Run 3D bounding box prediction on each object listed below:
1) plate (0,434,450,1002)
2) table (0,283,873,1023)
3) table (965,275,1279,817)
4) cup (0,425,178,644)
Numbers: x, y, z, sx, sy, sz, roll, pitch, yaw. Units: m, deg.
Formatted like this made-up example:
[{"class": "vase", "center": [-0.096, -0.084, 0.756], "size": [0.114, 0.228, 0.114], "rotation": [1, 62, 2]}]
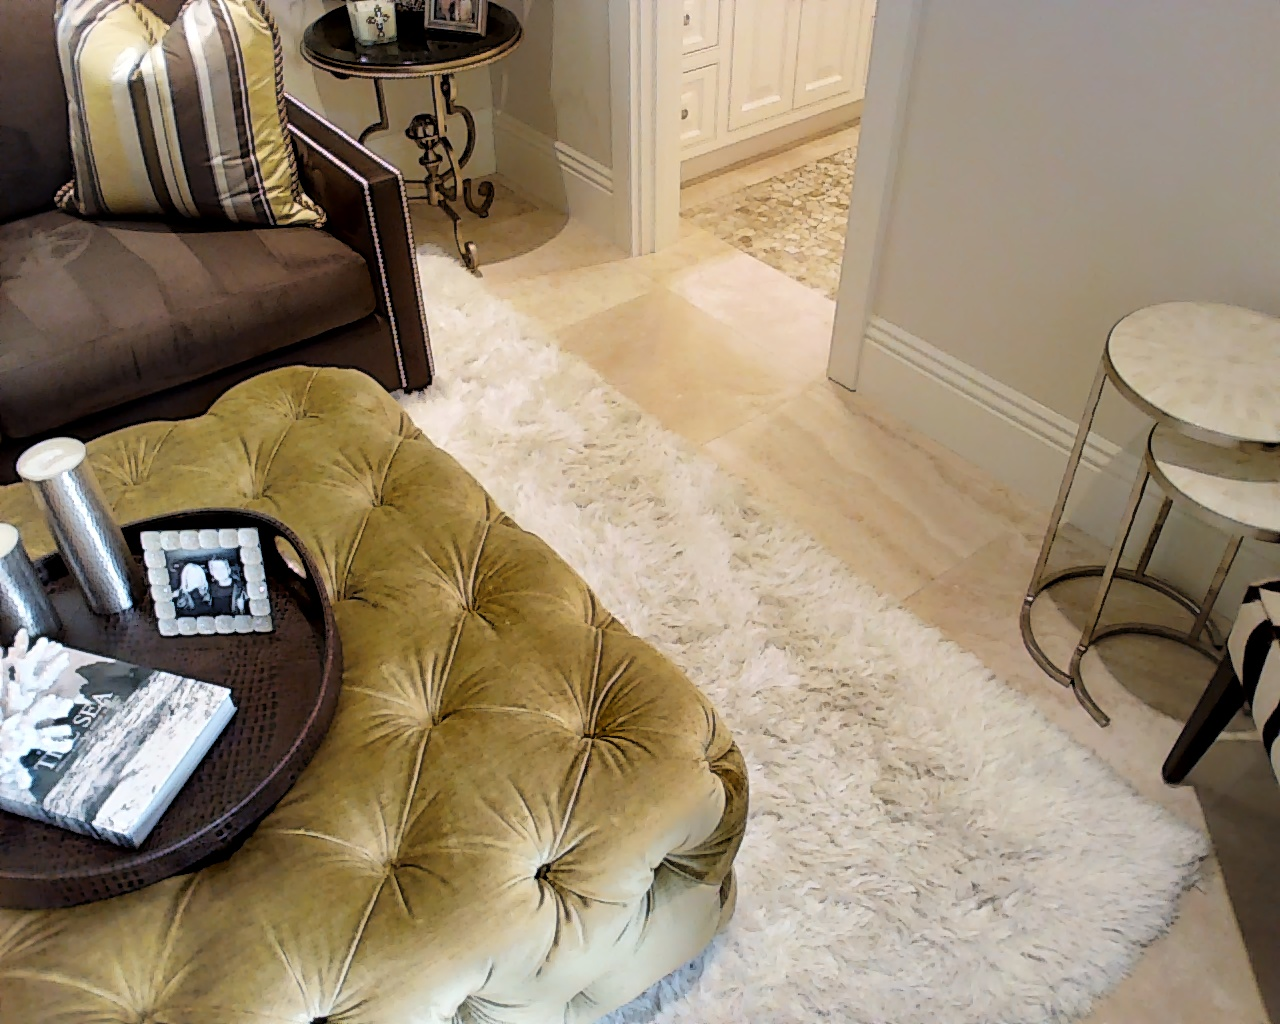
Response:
[{"class": "plate", "center": [-0.640, 0.200, 1.260], "size": [0.600, 0.100, 0.580], "rotation": [-28, 48, -28]}, {"class": "table", "center": [-0.630, 0.370, 1.470], "size": [1.280, 0.530, 1.270], "rotation": [-28, 48, -28]}, {"class": "table", "center": [0.920, 0.050, 1.750], "size": [0.450, 0.640, 0.510], "rotation": [-11, 42, -11]}, {"class": "cup", "center": [-0.690, 0.030, 1.340], "size": [0.120, 0.230, 0.100], "rotation": [-29, 49, -29]}]
